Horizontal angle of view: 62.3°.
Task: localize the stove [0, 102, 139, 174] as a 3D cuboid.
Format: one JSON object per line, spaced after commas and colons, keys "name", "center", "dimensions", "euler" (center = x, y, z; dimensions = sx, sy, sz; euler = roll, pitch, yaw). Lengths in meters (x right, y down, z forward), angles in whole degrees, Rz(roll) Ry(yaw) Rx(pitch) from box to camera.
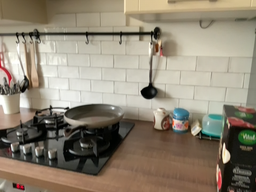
{"name": "stove", "center": [-0.300, 0.150, 1.050], "dimensions": [0.590, 0.050, 0.560], "euler": [5, 14, 16]}
